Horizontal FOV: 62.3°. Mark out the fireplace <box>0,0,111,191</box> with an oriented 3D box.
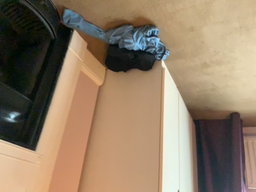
[{"bbox_3d":[-0.540,0.020,0.920,0.340,1.160,1.000,-6,151,24],"label":"fireplace"}]
